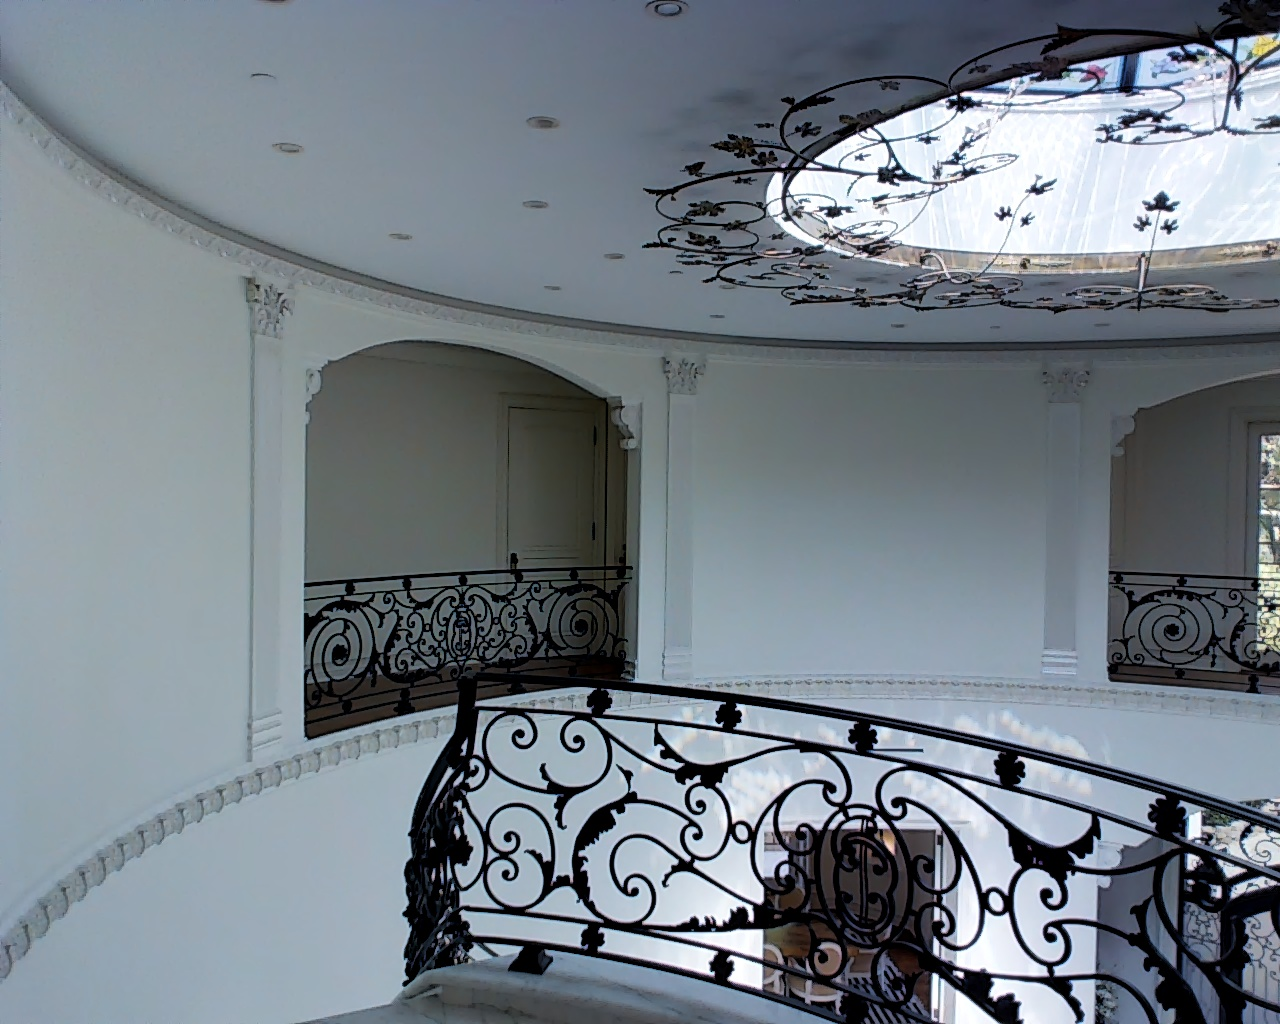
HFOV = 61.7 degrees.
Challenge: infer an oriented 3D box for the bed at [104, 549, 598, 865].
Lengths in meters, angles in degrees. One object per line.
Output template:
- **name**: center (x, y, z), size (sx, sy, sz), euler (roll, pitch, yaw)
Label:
- **bed**: center (-1.840, 0.950, 6.530), size (2.419, 1.300, 2.470), euler (0, 1, -24)
